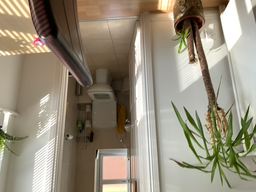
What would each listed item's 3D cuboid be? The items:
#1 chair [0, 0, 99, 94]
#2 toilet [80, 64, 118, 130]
[{"bbox_3d":[-0.440,-0.600,0.970,0.520,1.080,0.420,-4,162,6],"label":"chair"},{"bbox_3d":[-0.410,0.050,3.230,0.420,0.820,0.670,-3,162,4],"label":"toilet"}]
